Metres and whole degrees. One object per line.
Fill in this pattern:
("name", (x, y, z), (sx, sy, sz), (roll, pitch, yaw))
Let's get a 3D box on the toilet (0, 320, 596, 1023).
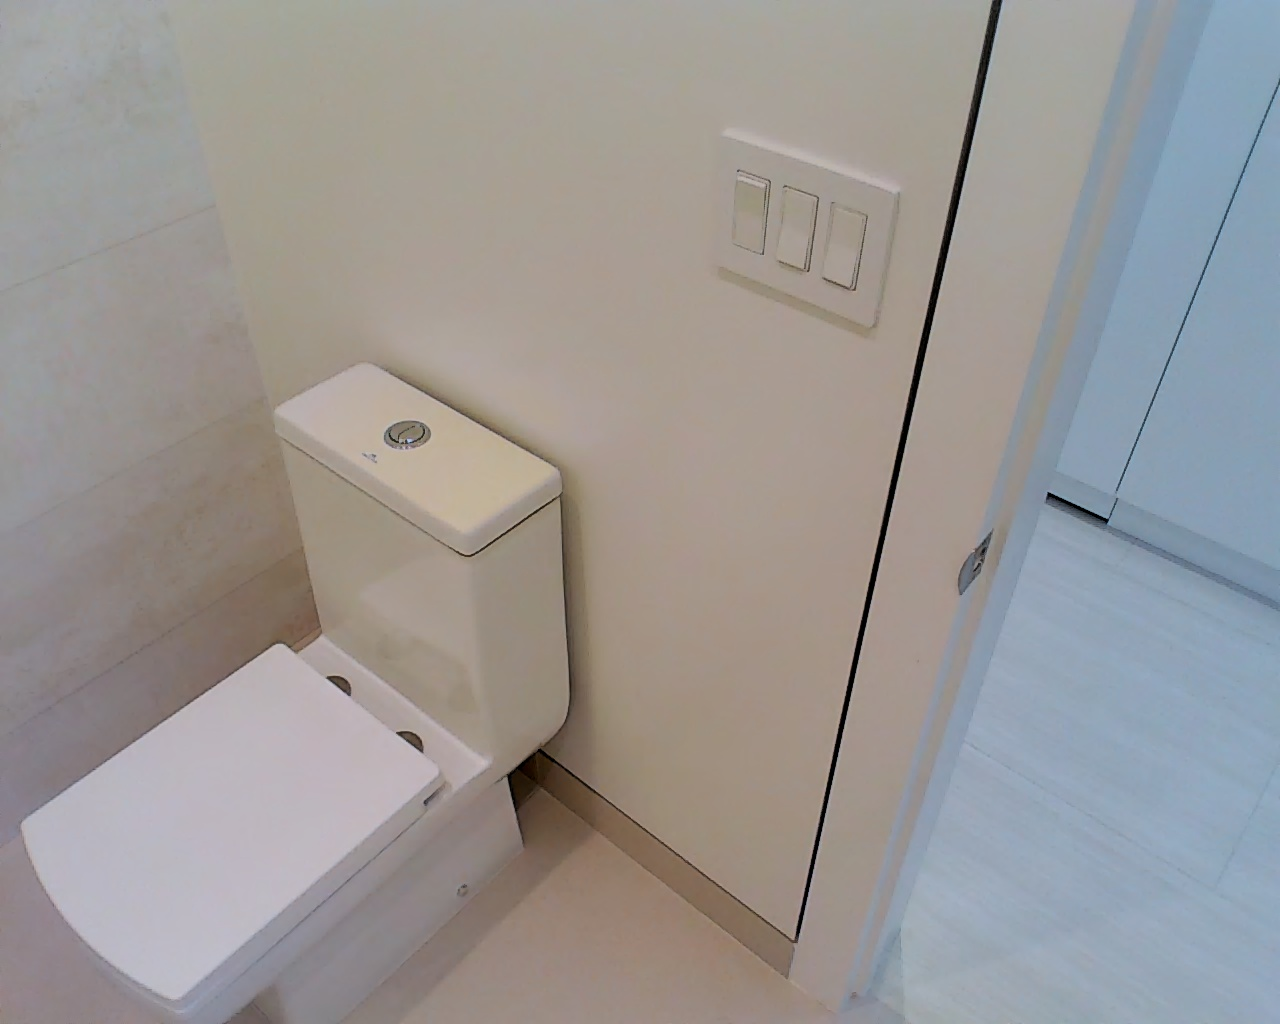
("toilet", (-0.450, 0.290, 1.430), (0.410, 0.770, 0.700), (30, 49, 28))
